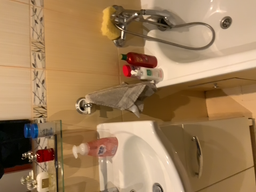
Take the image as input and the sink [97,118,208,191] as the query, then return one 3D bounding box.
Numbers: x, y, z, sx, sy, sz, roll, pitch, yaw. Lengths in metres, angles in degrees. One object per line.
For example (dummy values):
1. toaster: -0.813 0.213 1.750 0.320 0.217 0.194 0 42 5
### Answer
1. sink: 0.070 0.380 0.790 0.430 0.140 0.570 -11 81 51
